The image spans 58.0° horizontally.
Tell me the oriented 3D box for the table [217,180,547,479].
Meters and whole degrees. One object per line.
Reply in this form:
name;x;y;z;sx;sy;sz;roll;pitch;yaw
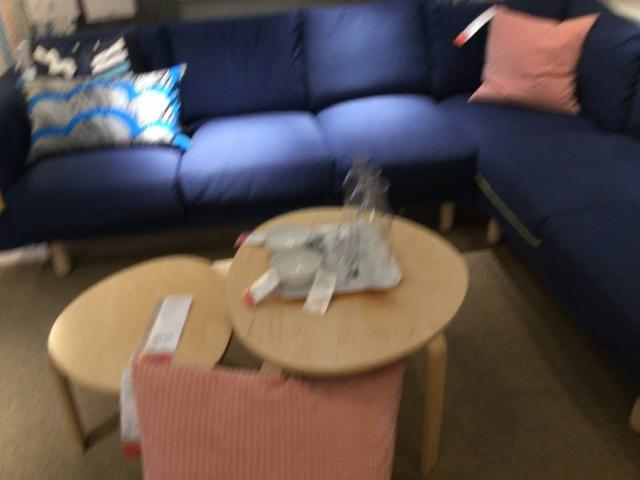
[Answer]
table;0.090;0.240;1.630;0.690;0.530;0.740;-5;28;-7

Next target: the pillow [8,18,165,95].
pillow;-0.960;-0.790;2.460;0.520;0.230;0.380;-5;28;-7

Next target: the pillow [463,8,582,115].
pillow;0.880;-0.790;2.520;0.380;0.360;0.350;14;31;25

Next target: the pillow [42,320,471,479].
pillow;-0.130;0.530;1.240;0.720;0.470;0.450;-5;28;-7

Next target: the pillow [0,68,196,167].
pillow;-0.860;-0.500;2.310;0.670;0.280;0.300;-5;28;-7

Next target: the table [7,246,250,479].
table;-0.450;0.350;1.570;0.470;0.390;0.600;-5;28;-7
